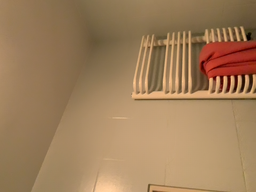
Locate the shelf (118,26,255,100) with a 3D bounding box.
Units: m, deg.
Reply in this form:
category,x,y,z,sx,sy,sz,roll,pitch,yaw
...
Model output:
category,x,y,z,sx,sy,sz,roll,pitch,yaw
shelf,0.400,-0.210,1.340,0.120,0.840,0.500,72,-157,-49
